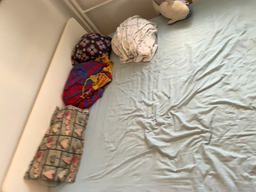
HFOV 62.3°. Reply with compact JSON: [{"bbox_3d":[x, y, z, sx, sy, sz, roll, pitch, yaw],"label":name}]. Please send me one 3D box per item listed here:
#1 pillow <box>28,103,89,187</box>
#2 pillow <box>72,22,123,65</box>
[{"bbox_3d":[-0.480,0.340,1.530,0.210,0.170,0.550,-8,55,28],"label":"pillow"},{"bbox_3d":[-0.280,-0.490,2.030,0.190,0.360,0.320,-27,87,30],"label":"pillow"}]
